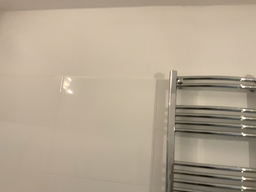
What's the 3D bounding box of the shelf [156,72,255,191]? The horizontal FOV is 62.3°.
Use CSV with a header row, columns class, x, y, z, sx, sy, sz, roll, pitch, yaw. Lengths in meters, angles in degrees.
class,x,y,z,sx,sy,sz,roll,pitch,yaw
shelf,0.450,0.430,1.040,0.610,1.110,0.090,3,-13,10
